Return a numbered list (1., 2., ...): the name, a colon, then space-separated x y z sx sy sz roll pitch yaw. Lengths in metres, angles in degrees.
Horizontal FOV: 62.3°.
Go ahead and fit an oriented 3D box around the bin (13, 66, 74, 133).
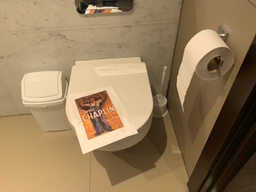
1. bin: -0.460 0.030 1.230 0.210 0.360 0.180 -5 47 -3
